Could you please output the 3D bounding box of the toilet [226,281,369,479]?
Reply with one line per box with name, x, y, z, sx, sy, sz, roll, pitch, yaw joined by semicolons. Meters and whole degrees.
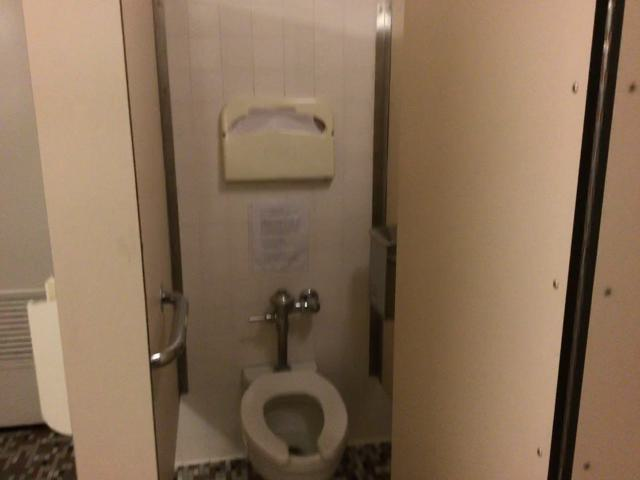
toilet;-0.100;0.510;1.990;0.370;0.560;0.620;-4;13;-11
